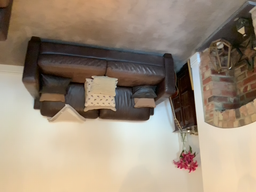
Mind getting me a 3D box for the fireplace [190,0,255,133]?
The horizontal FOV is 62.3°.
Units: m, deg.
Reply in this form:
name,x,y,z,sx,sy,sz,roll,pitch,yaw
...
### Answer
name,x,y,z,sx,sy,sz,roll,pitch,yaw
fireplace,1.230,-0.230,2.330,0.460,1.130,1.140,4,163,-14
